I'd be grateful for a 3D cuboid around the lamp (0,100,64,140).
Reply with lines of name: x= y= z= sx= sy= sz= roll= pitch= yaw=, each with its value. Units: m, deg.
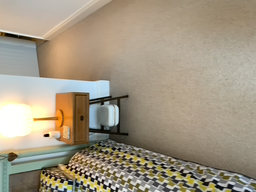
lamp: x=-0.790 y=0.170 z=1.730 sx=0.260 sy=0.450 sz=0.280 roll=-2 pitch=88 yaw=49
